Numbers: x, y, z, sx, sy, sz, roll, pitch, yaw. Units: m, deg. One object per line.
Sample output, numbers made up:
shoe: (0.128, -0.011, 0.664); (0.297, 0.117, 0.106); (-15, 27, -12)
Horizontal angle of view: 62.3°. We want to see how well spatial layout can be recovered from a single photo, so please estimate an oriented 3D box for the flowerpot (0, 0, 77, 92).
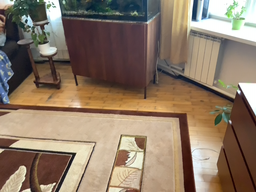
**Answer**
flowerpot: (-1.080, -0.820, 2.640); (0.460, 1.380, 0.630); (4, 34, 10)
